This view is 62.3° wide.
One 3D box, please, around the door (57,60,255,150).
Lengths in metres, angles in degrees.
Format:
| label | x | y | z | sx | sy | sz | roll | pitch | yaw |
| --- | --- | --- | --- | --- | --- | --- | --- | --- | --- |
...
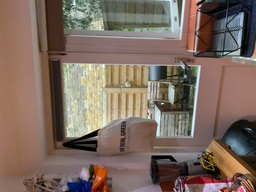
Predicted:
| label | x | y | z | sx | sy | sz | roll | pitch | yaw |
| --- | --- | --- | --- | --- | --- | --- | --- | --- | --- |
| door | 0.500 | 0.100 | 1.670 | 0.040 | 2.030 | 0.680 | -110 | 22 | -75 |

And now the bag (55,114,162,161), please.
| label | x | y | z | sx | sy | sz | roll | pitch | yaw |
| --- | --- | --- | --- | --- | --- | --- | --- | --- | --- |
| bag | -0.140 | 0.300 | 1.570 | 0.170 | 0.730 | 0.290 | -109 | 21 | -74 |
